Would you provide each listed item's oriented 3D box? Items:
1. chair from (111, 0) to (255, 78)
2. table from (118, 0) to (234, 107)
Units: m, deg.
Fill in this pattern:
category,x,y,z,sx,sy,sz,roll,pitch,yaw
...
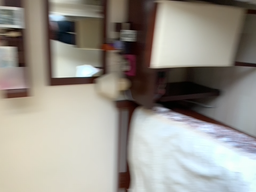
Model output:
category,x,y,z,sx,sy,sz,roll,pitch,yaw
chair,0.430,-0.410,1.460,0.500,0.970,0.420,33,124,58
table,0.370,-0.470,1.800,0.490,0.770,0.940,29,121,60
